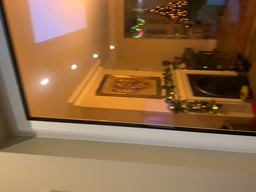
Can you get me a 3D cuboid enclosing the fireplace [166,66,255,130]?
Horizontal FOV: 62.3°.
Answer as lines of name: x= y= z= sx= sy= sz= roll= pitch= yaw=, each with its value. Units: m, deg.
fireplace: x=1.340 y=-0.040 z=3.490 sx=1.270 sy=1.290 sz=0.410 roll=-79 pitch=-9 yaw=-60
